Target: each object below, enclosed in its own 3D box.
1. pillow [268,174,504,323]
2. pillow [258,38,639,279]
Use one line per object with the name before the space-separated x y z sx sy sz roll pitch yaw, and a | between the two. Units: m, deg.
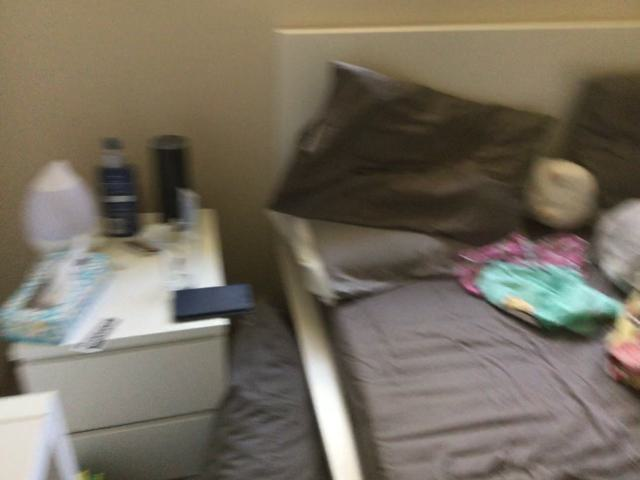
pillow | 0.140 0.000 1.520 0.510 0.120 0.440 -6 33 -7
pillow | 0.300 -0.220 1.470 0.860 0.450 0.310 -6 33 -7
